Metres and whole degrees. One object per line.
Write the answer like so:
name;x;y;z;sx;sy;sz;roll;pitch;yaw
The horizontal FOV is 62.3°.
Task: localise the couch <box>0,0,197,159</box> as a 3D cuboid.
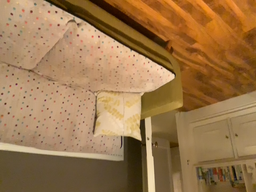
couch;-0.650;-0.180;1.480;2.070;0.930;1.120;19;150;-38
